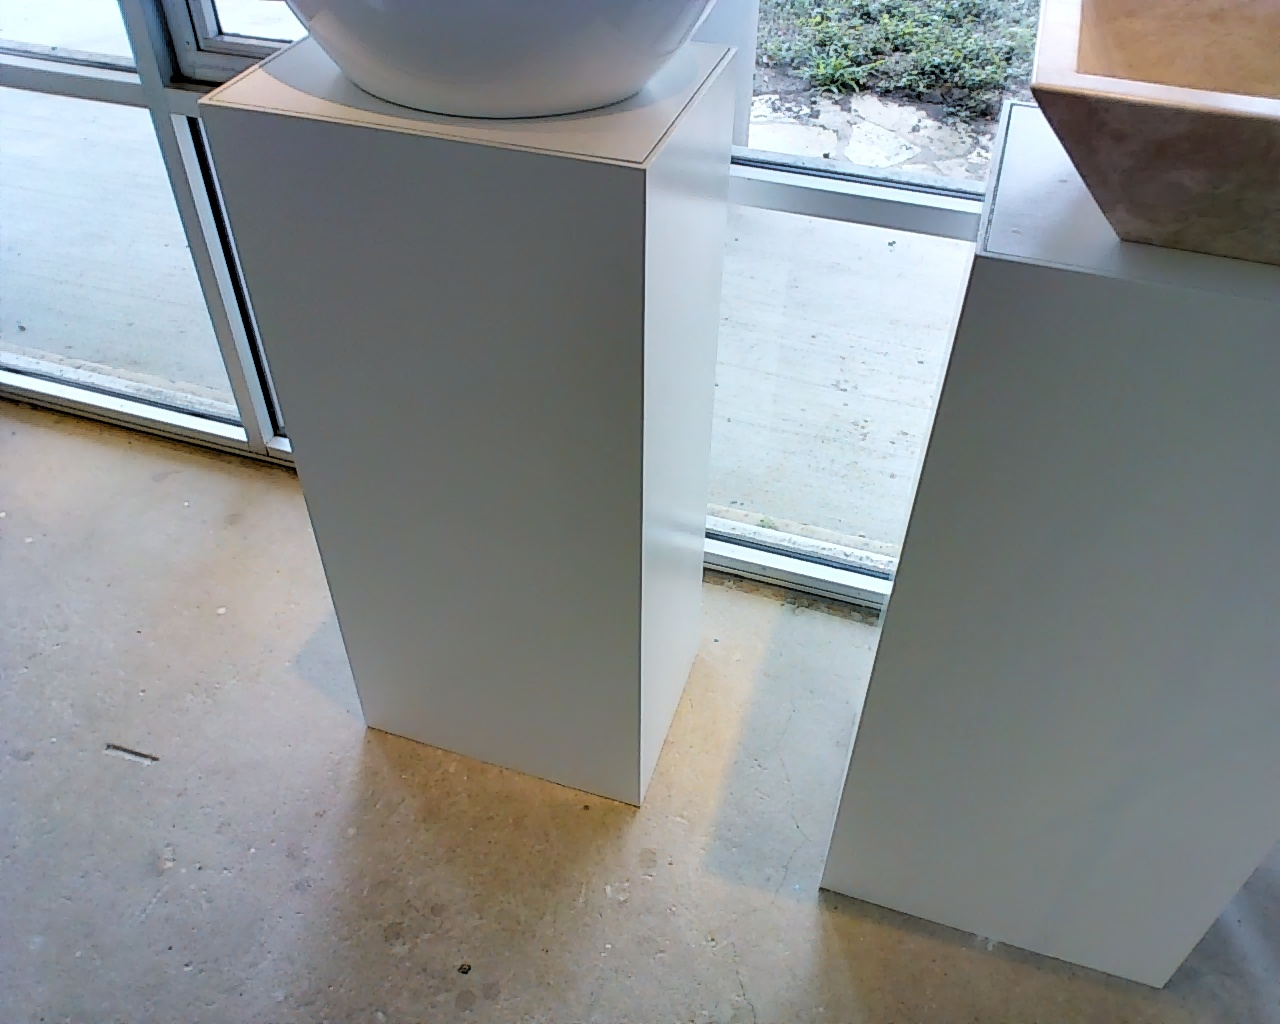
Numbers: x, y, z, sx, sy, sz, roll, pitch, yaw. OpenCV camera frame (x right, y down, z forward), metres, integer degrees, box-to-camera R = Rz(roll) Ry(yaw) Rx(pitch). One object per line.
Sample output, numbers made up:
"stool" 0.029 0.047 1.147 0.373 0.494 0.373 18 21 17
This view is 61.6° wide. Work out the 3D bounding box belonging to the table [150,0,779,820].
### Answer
"table" -0.170 -0.110 1.540 0.550 1.100 0.420 13 44 13
